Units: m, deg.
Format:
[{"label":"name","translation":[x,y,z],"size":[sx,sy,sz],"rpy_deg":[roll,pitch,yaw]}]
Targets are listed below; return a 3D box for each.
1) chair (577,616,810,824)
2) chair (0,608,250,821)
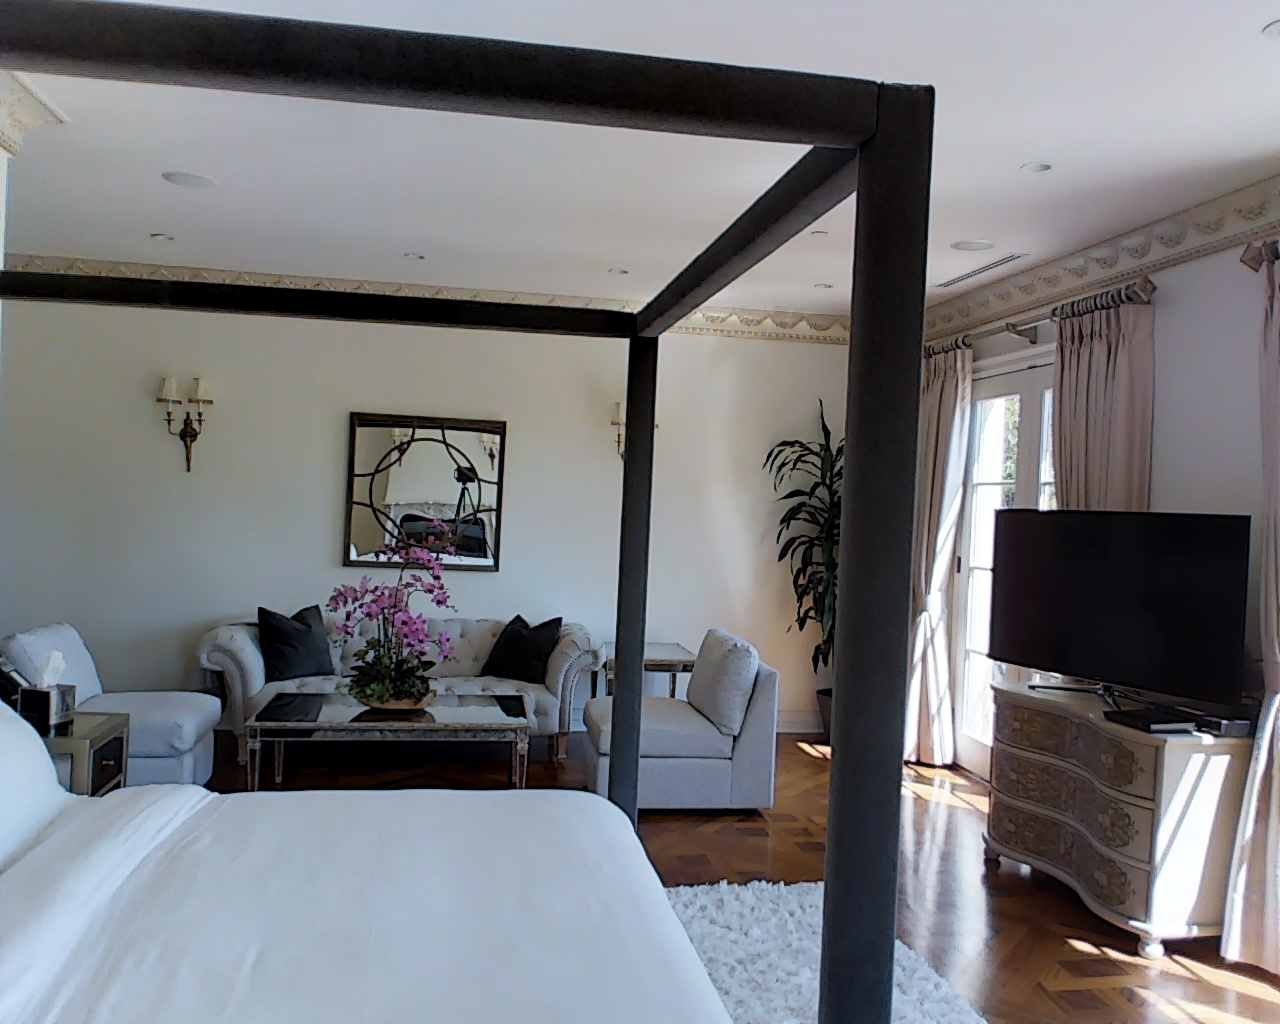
[{"label":"chair","translation":[0.250,1.070,5.730],"size":[1.030,0.910,0.880],"rpy_deg":[2,1,-11]},{"label":"chair","translation":[-2.539,0.970,5.320],"size":[0.990,0.890,0.770],"rpy_deg":[2,1,-10]}]
